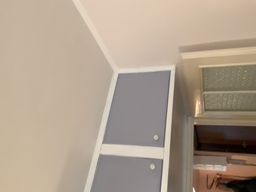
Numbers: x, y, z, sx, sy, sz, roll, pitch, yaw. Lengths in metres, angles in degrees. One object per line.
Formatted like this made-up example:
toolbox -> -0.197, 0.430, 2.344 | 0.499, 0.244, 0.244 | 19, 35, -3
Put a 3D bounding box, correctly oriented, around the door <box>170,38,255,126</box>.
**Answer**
door -> 1.340, -0.040, 1.290 | 0.930, 2.010, 0.090 | 60, -145, -53
